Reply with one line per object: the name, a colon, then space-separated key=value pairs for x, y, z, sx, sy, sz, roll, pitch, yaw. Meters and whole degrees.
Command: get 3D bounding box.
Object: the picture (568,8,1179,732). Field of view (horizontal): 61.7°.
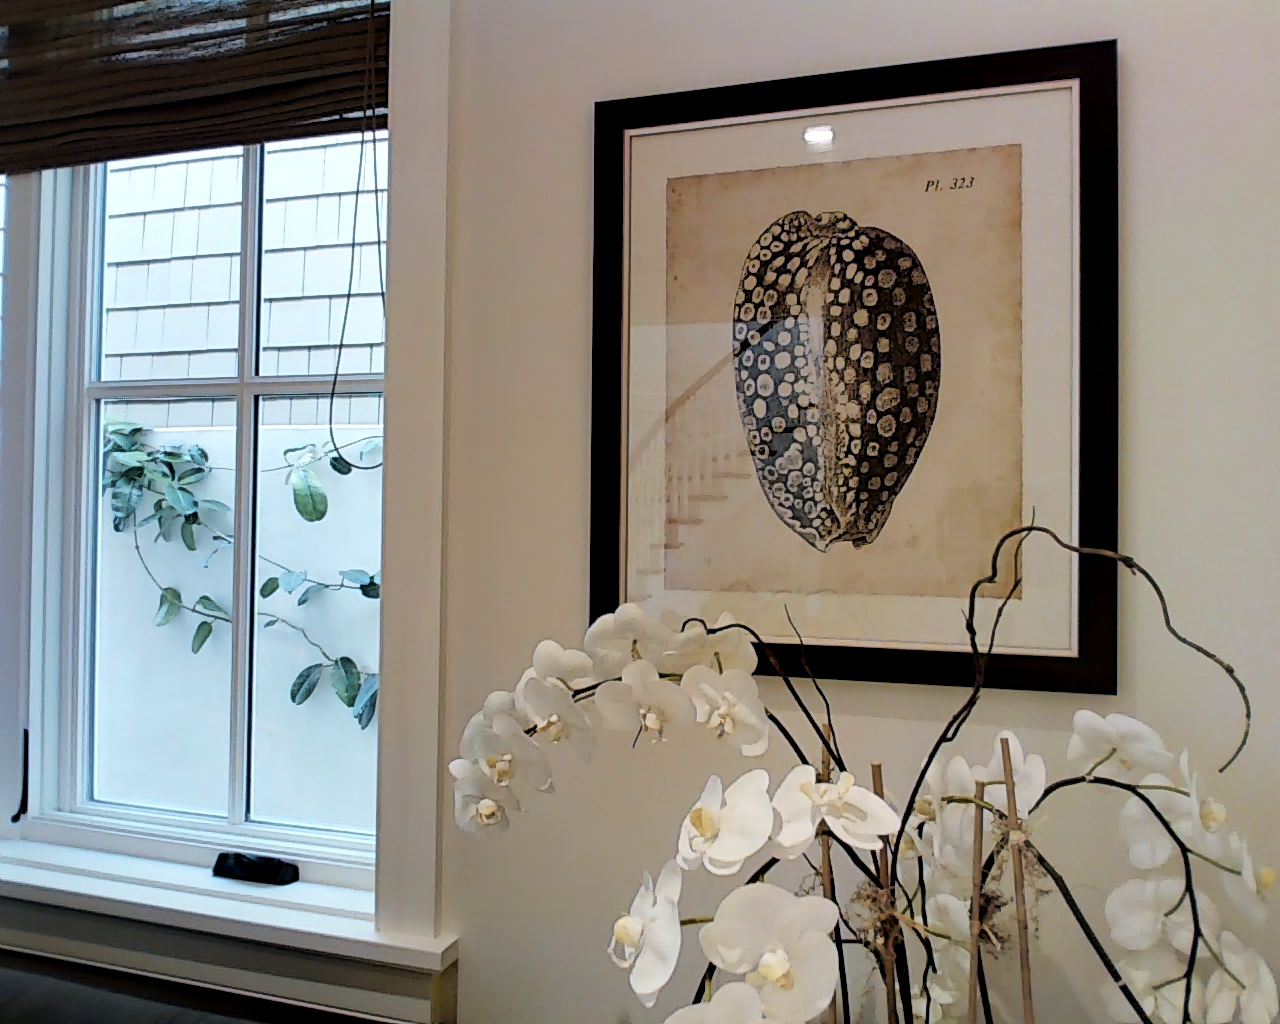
picture: x=0.240 y=-0.150 z=1.220 sx=0.660 sy=0.740 sz=0.050 roll=1 pitch=-1 yaw=18
